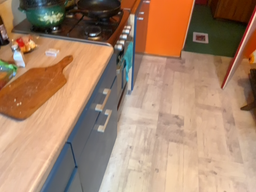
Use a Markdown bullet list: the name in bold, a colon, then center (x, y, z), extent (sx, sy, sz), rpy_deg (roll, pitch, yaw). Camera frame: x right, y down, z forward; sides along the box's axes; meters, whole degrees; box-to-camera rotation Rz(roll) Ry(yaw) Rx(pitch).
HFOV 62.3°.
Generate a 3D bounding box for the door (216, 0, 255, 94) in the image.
- **door**: center (1.210, -0.920, 1.820), extent (0.070, 1.880, 0.730), rpy_deg (27, 48, 24)

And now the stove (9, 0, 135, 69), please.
- **stove**: center (-0.310, -0.460, 1.410), extent (0.610, 0.170, 0.580), rpy_deg (10, 43, 8)

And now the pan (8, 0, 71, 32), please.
- **pan**: center (-0.500, -0.510, 1.230), extent (0.240, 0.170, 0.210), rpy_deg (9, 43, 7)
